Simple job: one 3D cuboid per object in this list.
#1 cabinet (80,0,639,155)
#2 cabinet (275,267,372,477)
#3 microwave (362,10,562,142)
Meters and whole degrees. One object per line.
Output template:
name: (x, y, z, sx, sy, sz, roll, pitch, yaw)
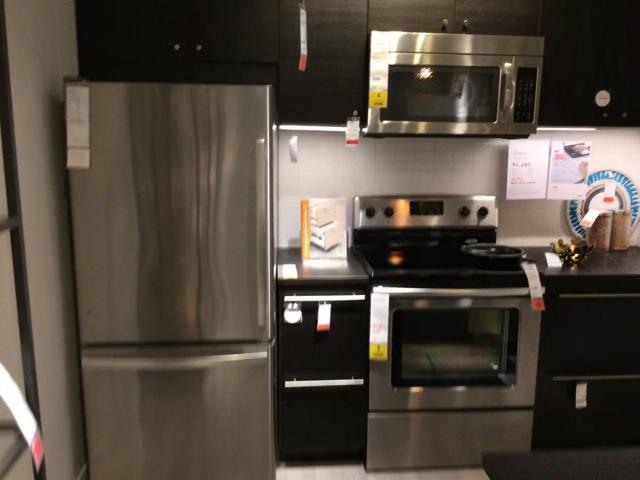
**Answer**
cabinet: (0.290, -0.840, 2.620, 2.530, 0.800, 0.570, -1, 7, 4)
cabinet: (0.040, 0.590, 2.790, 0.390, 0.810, 0.640, -1, 7, 4)
microwave: (0.590, -0.700, 2.590, 0.790, 0.470, 0.480, -1, 7, 4)
